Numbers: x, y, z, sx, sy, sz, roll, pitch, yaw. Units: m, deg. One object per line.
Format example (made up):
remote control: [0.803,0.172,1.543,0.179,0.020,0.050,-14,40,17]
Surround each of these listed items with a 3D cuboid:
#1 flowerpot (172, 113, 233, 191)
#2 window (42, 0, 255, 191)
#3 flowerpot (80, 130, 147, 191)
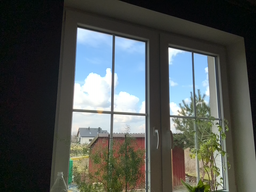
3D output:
flowerpot: [0.560,0.510,1.630,0.290,0.720,0.310,6,-12,-26]
window: [0.250,0.100,1.470,1.490,1.500,0.230,5,-11,-24]
flowerpot: [-0.090,0.490,1.240,0.330,0.560,0.230,5,-11,-24]
